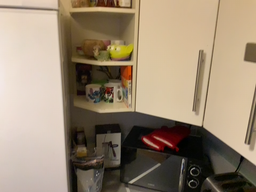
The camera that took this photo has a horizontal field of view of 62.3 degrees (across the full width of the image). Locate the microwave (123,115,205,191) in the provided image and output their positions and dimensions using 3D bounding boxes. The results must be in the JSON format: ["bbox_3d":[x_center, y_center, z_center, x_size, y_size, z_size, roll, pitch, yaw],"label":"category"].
[{"bbox_3d":[0.230,0.350,1.310,0.390,0.290,0.370,9,18,24],"label":"microwave"}]
